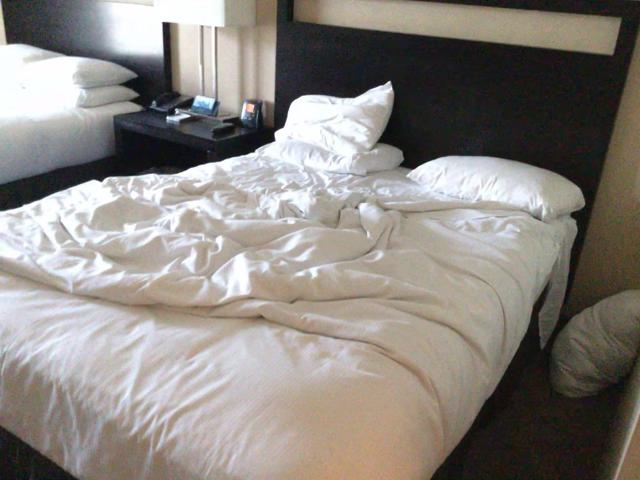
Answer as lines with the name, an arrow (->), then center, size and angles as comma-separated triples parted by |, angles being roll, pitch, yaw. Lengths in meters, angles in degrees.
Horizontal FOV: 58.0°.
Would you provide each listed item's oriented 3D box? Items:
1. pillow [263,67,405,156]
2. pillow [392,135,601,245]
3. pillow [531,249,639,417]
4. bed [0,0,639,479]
pillow -> 0.060, -0.630, 2.760 | 0.580, 0.290, 0.300 | 18, 26, 27
pillow -> 0.710, -0.230, 2.320 | 0.680, 0.180, 0.480 | 18, 26, 27
pillow -> 1.090, 0.340, 2.270 | 0.320, 0.420, 0.450 | 18, 26, 27
bed -> -0.100, -0.150, 1.960 | 1.730, 1.500, 2.130 | 18, 26, 27
